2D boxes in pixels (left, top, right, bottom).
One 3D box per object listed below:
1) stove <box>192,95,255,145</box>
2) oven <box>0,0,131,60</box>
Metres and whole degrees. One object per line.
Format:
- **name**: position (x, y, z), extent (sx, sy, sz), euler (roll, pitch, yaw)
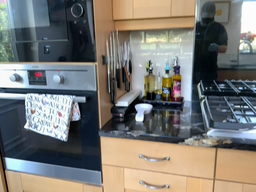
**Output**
- **stove**: position (0.650, 0.100, 1.040), extent (0.630, 0.040, 0.600), euler (3, 14, 15)
- **oven**: position (-0.350, -0.450, 1.190), extent (0.590, 0.440, 0.610), euler (3, 14, 15)
